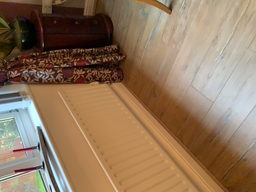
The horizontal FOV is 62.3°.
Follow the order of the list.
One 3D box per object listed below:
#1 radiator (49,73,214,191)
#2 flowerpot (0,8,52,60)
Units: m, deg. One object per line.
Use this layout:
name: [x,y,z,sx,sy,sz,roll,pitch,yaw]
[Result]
radiator: [-0.030,0.300,1.370,1.360,0.520,0.120,49,135,36]
flowerpot: [-1.040,-0.510,1.720,0.330,0.710,0.290,50,136,35]
